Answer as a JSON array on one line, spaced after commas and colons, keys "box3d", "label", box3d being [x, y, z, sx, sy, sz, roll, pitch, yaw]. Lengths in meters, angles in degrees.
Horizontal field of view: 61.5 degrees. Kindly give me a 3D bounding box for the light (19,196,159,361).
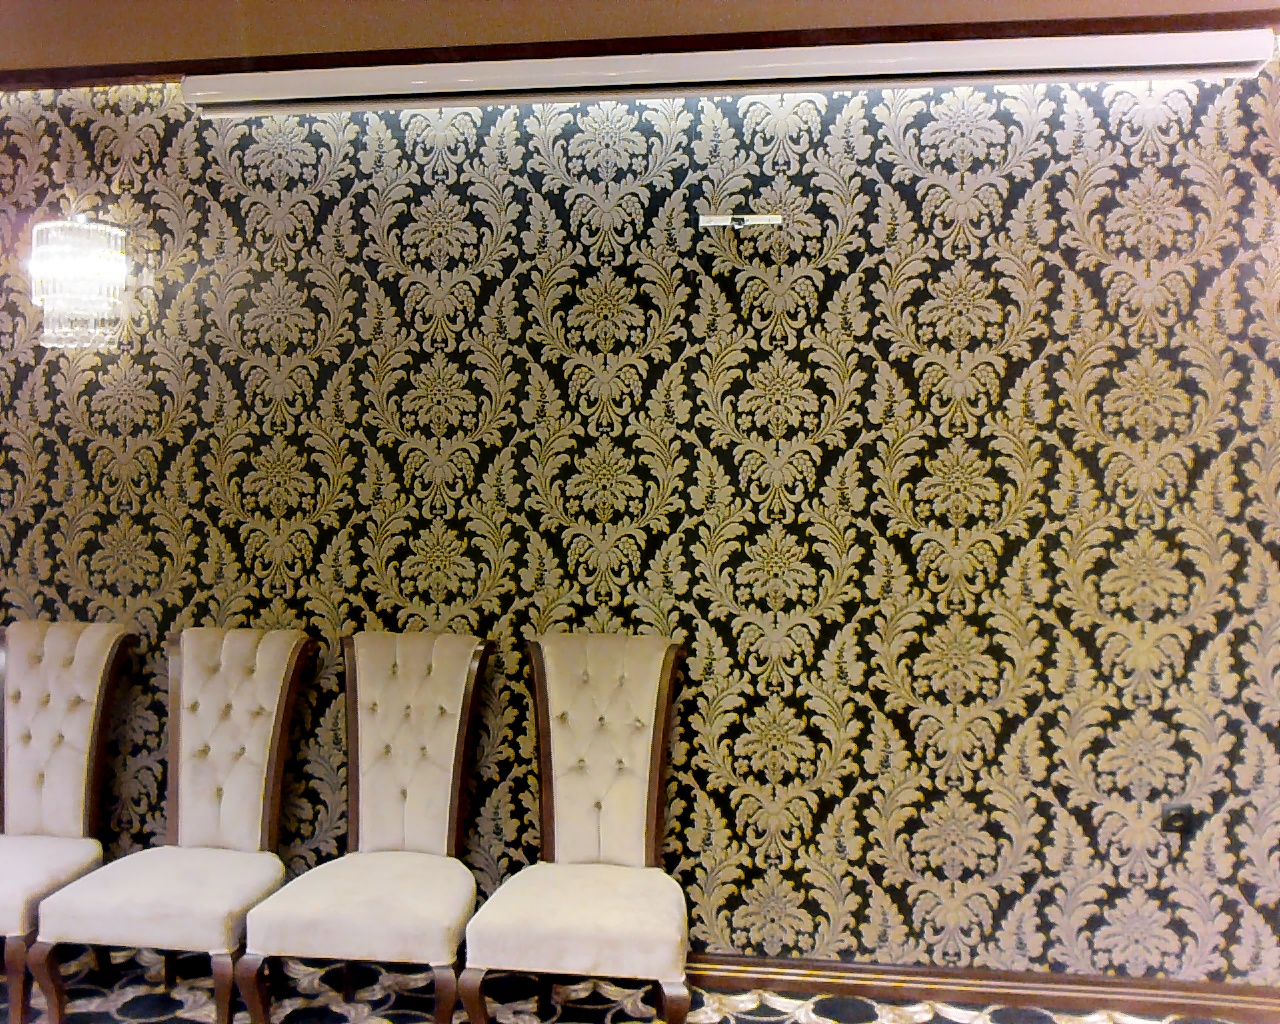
[{"box3d": [-1.789, -0.750, 3.500, 0.370, 0.490, 0.180, 0, 1, 7], "label": "light"}]
